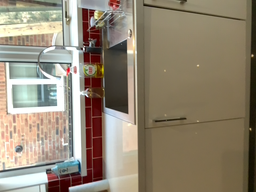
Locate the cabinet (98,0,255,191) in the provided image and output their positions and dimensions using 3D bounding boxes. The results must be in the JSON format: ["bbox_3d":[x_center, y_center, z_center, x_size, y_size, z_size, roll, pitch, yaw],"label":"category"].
[{"bbox_3d":[0.340,-0.170,1.500,0.650,0.940,2.430,-174,84,-65],"label":"cabinet"}]
